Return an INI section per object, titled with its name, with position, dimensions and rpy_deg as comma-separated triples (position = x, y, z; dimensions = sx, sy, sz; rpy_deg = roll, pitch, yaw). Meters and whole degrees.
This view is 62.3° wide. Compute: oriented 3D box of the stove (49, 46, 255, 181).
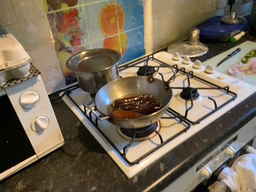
[stove]
position = 0.070, -0.030, 0.810
dimensions = 0.570, 0.030, 0.530
rpy_deg = -27, 39, -27
